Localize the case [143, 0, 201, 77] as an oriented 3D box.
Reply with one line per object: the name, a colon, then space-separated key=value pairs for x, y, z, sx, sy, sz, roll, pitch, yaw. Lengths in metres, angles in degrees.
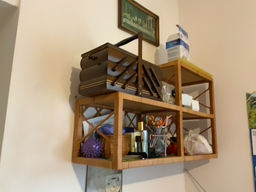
case: x=0.280 y=-0.350 z=1.350 sx=0.300 sy=0.370 sz=0.220 roll=11 pitch=-15 yaw=-43

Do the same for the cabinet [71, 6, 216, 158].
cabinet: x=0.150 y=0.010 z=1.090 sx=0.250 sy=0.530 sz=0.810 roll=-9 pitch=-15 yaw=43
